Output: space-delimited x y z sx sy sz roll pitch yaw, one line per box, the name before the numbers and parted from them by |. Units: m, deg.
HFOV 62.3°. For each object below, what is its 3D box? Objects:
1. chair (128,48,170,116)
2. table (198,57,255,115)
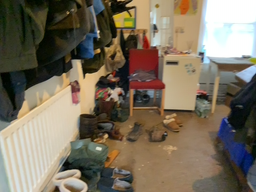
chair | 0.270 -0.230 3.110 0.490 0.890 0.550 -1 18 -5
table | 1.710 -0.180 3.240 1.000 0.740 0.610 1 18 1
